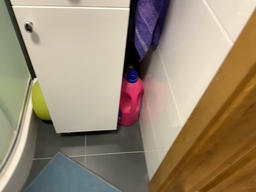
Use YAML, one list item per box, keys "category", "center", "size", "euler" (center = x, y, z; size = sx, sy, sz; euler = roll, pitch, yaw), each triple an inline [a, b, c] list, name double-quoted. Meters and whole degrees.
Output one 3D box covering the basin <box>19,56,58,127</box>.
- category: "basin"
  center: [-0.460, -0.020, 1.130]
  size: [0.110, 0.300, 0.240]
  euler: [-2, 53, -10]
